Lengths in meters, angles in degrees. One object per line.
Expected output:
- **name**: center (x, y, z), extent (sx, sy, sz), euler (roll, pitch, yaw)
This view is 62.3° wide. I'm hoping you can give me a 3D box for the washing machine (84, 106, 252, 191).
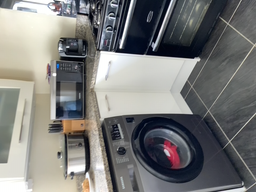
- **washing machine**: center (0.190, 0.560, 1.630), extent (0.750, 0.900, 0.620), euler (110, 152, -41)
